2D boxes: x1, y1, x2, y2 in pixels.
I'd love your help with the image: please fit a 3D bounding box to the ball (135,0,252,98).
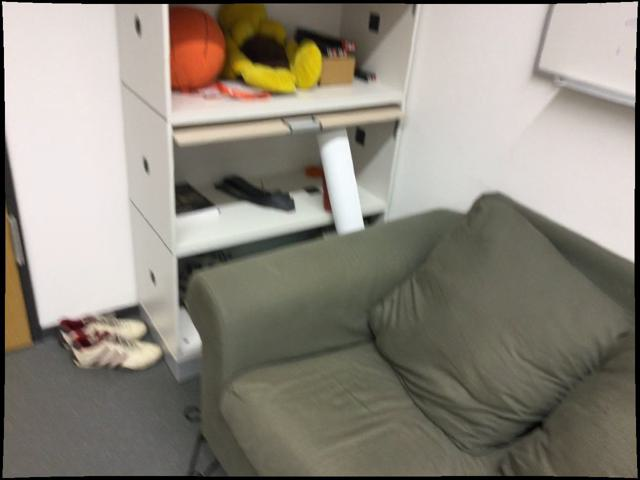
[{"bbox_3d":[-0.370,-0.571,1.700,0.250,0.210,0.260,-15,35,-28],"label":"ball"}]
